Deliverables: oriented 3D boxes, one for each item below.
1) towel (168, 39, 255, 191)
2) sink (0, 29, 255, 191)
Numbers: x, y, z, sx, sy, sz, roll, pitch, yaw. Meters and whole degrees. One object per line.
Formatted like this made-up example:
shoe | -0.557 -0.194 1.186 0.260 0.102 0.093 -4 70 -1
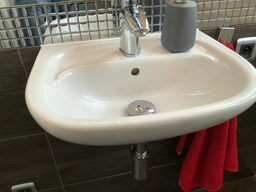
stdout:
towel | 0.340 0.200 0.840 0.260 0.790 0.160 -9 34 -11
sink | 0.030 -0.010 0.500 0.480 0.150 0.360 -8 34 -9
